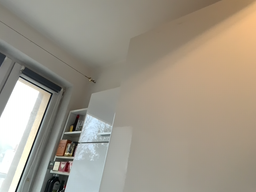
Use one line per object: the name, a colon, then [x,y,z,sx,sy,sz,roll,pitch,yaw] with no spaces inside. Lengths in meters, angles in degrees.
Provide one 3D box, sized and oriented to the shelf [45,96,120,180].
shelf: [-0.360,0.330,1.700,0.510,0.570,0.170,-11,-32,39]
